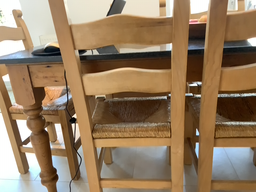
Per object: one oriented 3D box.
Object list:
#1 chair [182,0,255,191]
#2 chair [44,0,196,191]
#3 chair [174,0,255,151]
[{"bbox_3d":[0.510,0.020,0.940,0.450,0.980,0.510,0,21,9],"label":"chair"},{"bbox_3d":[0.020,0.030,1.010,0.450,0.980,0.510,-1,20,7],"label":"chair"},{"bbox_3d":[0.600,-0.190,1.490,0.480,0.980,0.540,-1,21,8],"label":"chair"}]
